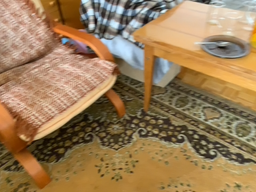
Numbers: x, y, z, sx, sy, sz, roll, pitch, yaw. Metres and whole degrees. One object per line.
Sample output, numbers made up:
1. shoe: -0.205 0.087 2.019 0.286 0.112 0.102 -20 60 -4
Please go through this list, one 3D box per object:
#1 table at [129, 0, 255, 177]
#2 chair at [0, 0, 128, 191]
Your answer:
1. table: 0.700 -0.010 1.050 1.310 0.560 0.560 27 50 30
2. chair: -0.560 -0.230 1.100 0.840 0.960 0.680 26 50 29
